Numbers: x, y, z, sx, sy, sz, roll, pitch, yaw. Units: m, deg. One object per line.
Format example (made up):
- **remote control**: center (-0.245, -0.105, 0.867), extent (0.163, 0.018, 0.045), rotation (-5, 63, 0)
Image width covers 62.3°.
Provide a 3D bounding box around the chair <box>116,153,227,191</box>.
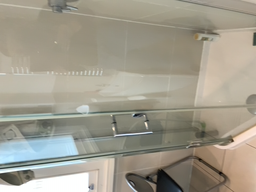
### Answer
- **chair**: center (0.330, 0.800, 1.740), extent (0.420, 0.750, 0.410), rotation (-150, 61, -63)
